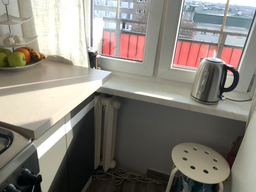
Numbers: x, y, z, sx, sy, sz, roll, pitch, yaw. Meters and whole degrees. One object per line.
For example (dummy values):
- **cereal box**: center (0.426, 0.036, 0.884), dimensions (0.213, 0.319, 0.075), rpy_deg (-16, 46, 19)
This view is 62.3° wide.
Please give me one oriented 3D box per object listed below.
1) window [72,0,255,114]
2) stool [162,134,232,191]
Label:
- **window**: center (0.240, -0.710, 0.980), dimensions (1.070, 1.500, 0.120), rpy_deg (12, 26, 14)
- **stool**: center (0.380, 0.540, 1.290), dimensions (0.310, 0.450, 0.320), rpy_deg (11, 26, 13)
